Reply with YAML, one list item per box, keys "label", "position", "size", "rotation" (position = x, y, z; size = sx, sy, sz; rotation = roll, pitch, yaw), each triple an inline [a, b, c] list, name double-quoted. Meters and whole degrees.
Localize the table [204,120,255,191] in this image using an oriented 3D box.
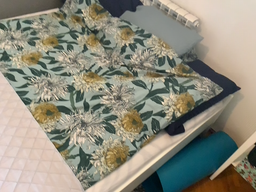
- label: "table"
  position: [0.830, 0.360, 1.160]
  size: [0.320, 0.700, 0.440]
  rotation: [-25, 57, -30]
